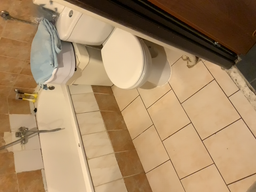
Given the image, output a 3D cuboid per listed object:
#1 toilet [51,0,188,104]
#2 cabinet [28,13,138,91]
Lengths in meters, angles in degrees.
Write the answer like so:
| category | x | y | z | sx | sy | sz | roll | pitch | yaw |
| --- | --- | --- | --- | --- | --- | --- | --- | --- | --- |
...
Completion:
| category | x | y | z | sx | sy | sz | roll | pitch | yaw |
| --- | --- | --- | --- | --- | --- | --- | --- | --- | --- |
| toilet | -0.070 | -0.380 | 1.590 | 0.420 | 0.730 | 0.740 | -42 | 58 | 34 |
| cabinet | -0.370 | -0.330 | 1.850 | 0.360 | 0.800 | 0.360 | -45 | 56 | 33 |
